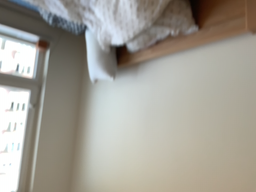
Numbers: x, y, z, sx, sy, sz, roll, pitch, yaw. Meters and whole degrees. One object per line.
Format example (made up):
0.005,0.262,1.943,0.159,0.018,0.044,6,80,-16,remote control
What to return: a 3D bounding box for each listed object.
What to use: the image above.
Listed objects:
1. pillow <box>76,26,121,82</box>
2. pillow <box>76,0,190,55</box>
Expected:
-0.300,-0.400,2.130,0.240,0.430,0.390,11,169,-41,pillow
0.000,-0.560,1.660,0.430,0.200,0.820,11,169,-41,pillow
